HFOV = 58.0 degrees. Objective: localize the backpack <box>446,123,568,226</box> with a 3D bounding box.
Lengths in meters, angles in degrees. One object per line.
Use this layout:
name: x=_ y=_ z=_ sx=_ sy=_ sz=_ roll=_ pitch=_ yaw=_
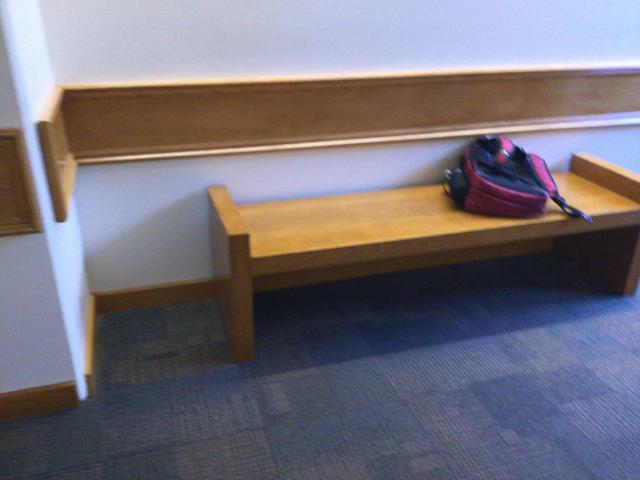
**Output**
backpack: x=0.760 y=-0.290 z=2.400 sx=0.410 sy=0.250 sz=0.460 roll=7 pitch=27 yaw=13
